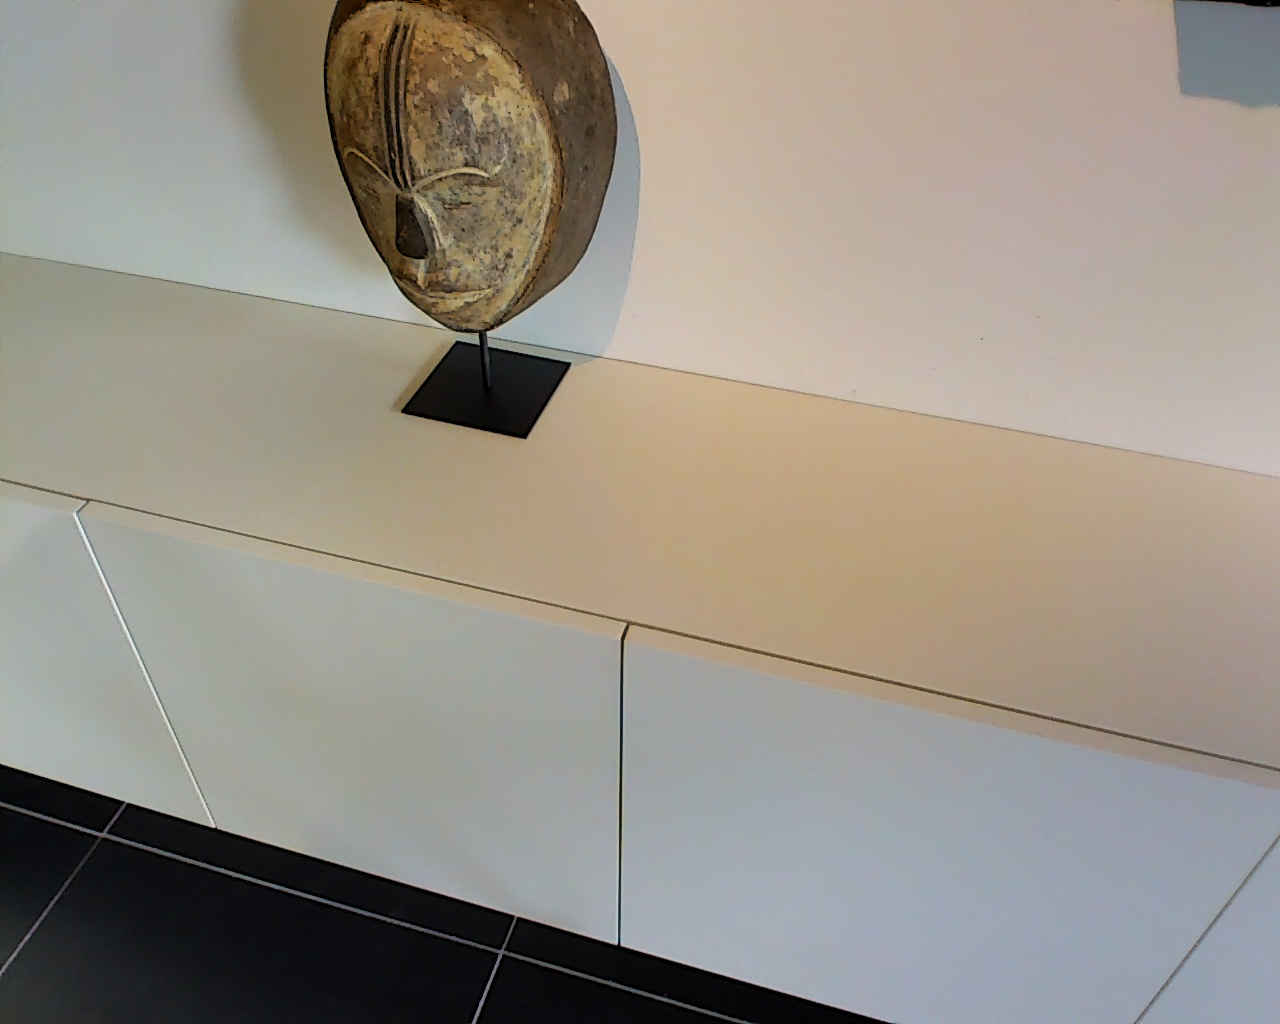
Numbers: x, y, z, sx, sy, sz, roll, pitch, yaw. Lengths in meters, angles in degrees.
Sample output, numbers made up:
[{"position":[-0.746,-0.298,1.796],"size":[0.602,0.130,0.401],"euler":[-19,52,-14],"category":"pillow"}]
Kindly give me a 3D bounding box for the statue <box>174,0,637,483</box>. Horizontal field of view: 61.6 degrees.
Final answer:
[{"position":[-0.170,-0.280,0.930],"size":[0.280,0.420,0.220],"euler":[12,43,11],"category":"statue"}]
